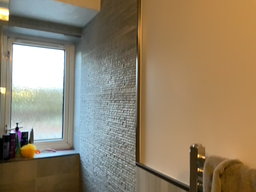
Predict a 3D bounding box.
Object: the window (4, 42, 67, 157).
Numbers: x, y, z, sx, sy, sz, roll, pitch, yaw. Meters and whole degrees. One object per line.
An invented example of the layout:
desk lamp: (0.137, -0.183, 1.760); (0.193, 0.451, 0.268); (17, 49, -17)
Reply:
window: (-0.770, 0.030, 1.800); (0.470, 0.910, 0.060); (1, -2, -26)
